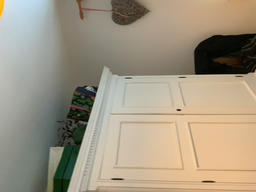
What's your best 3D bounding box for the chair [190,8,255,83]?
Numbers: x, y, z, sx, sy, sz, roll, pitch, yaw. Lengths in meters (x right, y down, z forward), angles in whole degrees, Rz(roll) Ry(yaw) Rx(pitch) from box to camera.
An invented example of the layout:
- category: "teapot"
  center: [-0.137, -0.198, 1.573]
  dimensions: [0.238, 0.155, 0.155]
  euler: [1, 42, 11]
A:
- category: "chair"
  center: [1.200, -0.470, 2.100]
  dimensions: [0.520, 1.010, 0.530]
  euler: [74, -164, -73]
